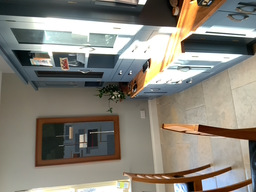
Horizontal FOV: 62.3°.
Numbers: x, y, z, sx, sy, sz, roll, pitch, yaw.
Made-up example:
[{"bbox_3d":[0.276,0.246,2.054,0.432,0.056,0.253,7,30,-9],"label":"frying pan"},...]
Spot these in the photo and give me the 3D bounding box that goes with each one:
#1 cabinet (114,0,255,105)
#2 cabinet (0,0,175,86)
[{"bbox_3d":[0.490,-0.410,3.130,2.620,0.870,0.670,142,126,-71],"label":"cabinet"},{"bbox_3d":[-0.590,-0.570,2.510,1.880,1.520,0.470,142,126,-71],"label":"cabinet"}]
